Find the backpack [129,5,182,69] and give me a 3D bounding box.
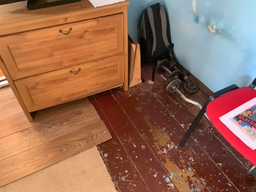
[{"bbox_3d":[0.240,-0.570,2.050,0.330,0.440,0.330,-19,49,-19],"label":"backpack"}]
